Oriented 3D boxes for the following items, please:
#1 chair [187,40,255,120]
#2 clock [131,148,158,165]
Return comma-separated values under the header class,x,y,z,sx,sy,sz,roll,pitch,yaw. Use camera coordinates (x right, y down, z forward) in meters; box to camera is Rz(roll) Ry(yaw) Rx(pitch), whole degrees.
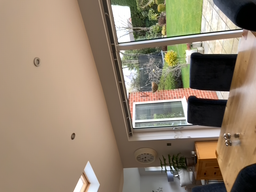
class,x,y,z,sx,sy,sz,roll,pitch,yaw
chair,1.230,-0.180,2.200,0.480,1.080,0.640,79,-171,-47
clock,0.370,1.340,4.660,0.090,0.550,0.540,-87,-9,-46
